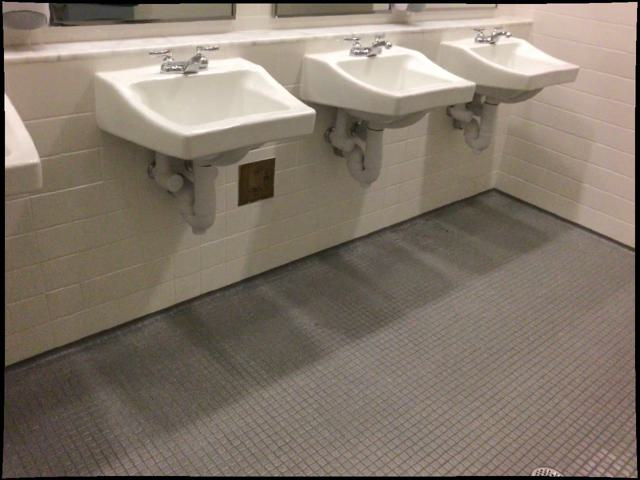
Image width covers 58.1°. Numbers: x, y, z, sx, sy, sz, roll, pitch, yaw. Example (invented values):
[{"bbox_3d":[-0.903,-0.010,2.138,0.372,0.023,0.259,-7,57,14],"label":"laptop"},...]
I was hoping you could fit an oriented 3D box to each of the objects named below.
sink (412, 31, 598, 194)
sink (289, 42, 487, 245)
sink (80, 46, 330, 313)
[{"bbox_3d":[0.848,-0.622,2.690,0.619,0.551,0.460,-20,38,-35],"label":"sink"},{"bbox_3d":[0.239,-0.401,2.230,0.529,0.571,0.460,-20,38,-35],"label":"sink"},{"bbox_3d":[-0.339,-0.221,1.770,0.539,0.591,0.450,-20,38,-35],"label":"sink"}]
